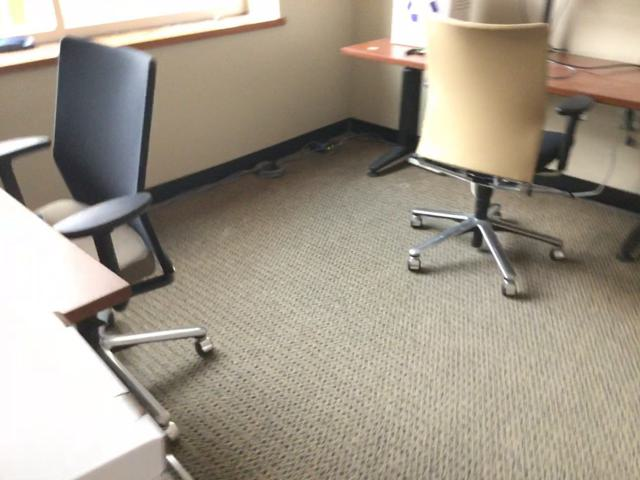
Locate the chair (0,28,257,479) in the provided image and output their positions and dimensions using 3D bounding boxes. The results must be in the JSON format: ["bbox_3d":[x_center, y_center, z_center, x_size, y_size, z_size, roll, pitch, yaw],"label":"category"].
[{"bbox_3d":[-0.690,0.030,1.570,0.670,1.010,0.670,22,37,37],"label":"chair"}]

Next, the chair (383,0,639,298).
[{"bbox_3d":[0.700,-0.410,2.250,0.670,0.930,0.590,22,37,37],"label":"chair"}]
